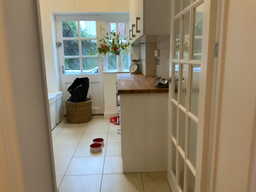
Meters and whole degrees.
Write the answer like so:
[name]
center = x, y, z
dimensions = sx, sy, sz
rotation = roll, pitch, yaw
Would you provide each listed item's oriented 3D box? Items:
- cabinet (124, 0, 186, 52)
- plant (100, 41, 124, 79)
[cabinet]
center = 0.230, -1.110, 2.920
dimensions = 0.390, 0.920, 2.070
rotation = -1, 10, -6
[plant]
center = -0.300, -0.690, 4.060
dimensions = 0.430, 0.690, 0.260
rotation = -1, 10, -5
